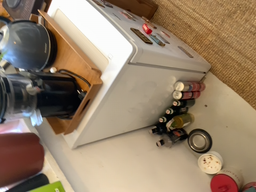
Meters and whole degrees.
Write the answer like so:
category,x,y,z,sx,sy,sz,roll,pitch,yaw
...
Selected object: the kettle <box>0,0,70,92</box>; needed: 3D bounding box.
category,x,y,z,sx,sy,sz,roll,pitch,yaw
kettle,-0.430,-0.190,0.860,0.220,0.200,0.270,49,117,24
